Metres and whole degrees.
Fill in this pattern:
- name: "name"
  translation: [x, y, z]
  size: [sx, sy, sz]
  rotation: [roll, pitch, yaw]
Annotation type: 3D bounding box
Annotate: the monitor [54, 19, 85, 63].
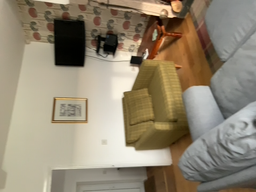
- name: "monitor"
  translation: [-1.050, -0.970, 3.790]
  size: [0.040, 0.520, 0.720]
  rotation: [-121, 36, -65]
